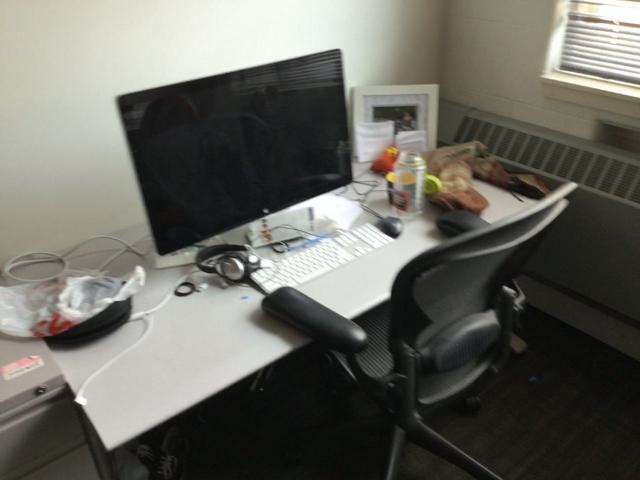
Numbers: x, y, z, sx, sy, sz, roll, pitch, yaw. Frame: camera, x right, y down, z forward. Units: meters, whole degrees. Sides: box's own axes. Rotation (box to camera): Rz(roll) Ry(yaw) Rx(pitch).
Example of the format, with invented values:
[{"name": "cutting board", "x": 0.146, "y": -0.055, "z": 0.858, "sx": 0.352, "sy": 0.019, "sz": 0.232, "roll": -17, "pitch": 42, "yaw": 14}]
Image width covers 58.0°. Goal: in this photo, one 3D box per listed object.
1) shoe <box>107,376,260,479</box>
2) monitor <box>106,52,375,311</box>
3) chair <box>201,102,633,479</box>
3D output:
[{"name": "shoe", "x": -0.420, "y": 0.610, "z": 1.790, "sx": 0.350, "sy": 0.070, "sz": 0.310, "roll": -24, "pitch": 36, "yaw": -34}, {"name": "monitor", "x": -0.160, "y": -0.180, "z": 1.480, "sx": 0.620, "sy": 0.470, "sz": 0.210, "roll": -24, "pitch": 36, "yaw": -34}, {"name": "chair", "x": 0.210, "y": 0.240, "z": 1.530, "sx": 0.670, "sy": 0.950, "sz": 0.690, "roll": -24, "pitch": 36, "yaw": -34}]
